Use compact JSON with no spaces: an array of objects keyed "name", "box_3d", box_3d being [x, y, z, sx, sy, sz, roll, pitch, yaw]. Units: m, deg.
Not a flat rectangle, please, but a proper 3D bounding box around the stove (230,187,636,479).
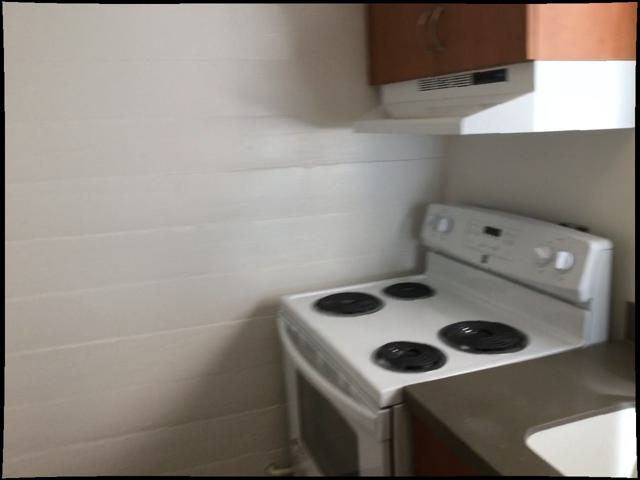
[{"name":"stove","box_3d":[0.259,0.531,1.830,0.788,1.213,0.920,-8,15,-21]}]
